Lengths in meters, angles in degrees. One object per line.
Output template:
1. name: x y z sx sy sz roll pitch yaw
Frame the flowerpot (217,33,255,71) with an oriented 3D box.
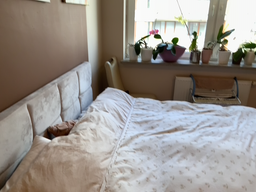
1. flowerpot: 1.480 -0.540 2.580 0.650 0.390 0.300 6 22 12

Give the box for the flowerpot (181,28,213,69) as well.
1. flowerpot: 0.870 -0.620 2.730 0.310 0.460 0.250 6 22 12
